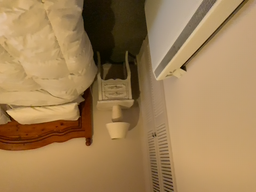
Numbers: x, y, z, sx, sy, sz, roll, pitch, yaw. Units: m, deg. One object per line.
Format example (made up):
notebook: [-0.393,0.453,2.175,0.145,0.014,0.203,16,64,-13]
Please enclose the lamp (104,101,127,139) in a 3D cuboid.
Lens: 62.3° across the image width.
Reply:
lamp: [-0.150,0.280,2.460,0.220,0.390,0.210,-2,165,-9]
